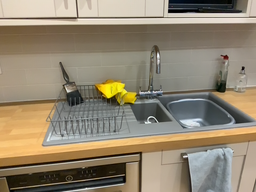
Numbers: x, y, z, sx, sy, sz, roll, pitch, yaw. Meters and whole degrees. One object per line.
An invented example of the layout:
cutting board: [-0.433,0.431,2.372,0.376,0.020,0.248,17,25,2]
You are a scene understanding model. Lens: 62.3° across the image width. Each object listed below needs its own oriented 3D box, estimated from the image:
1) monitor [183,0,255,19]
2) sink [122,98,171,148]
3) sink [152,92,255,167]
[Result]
monitor: [0.480,-0.520,1.050,0.400,0.260,0.040,-4,20,-10]
sink: [0.090,0.140,1.200,0.200,0.150,0.290,-4,20,-10]
sink: [0.400,0.160,1.240,0.400,0.210,0.450,-4,20,-10]
